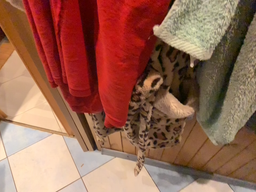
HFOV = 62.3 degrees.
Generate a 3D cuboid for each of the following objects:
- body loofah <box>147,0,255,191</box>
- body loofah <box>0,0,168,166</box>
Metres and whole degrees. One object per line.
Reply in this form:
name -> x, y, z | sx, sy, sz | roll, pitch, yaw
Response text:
body loofah -> 0.330, -0.050, 0.330 | 0.520, 1.120, 0.130 | 13, 58, 9
body loofah -> -0.100, -0.150, 0.310 | 0.300, 1.010, 0.150 | 13, 58, 10
